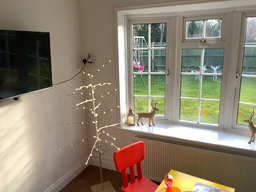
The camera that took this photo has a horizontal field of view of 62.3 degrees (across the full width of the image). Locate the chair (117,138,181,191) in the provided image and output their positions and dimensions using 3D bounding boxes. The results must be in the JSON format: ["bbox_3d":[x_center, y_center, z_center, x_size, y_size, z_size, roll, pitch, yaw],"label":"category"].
[{"bbox_3d":[0.190,0.840,1.990,0.430,0.700,0.380,-12,18,-38],"label":"chair"}]

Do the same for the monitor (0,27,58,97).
[{"bbox_3d":[-0.880,-0.260,1.590,0.040,0.480,0.900,6,15,24],"label":"monitor"}]
